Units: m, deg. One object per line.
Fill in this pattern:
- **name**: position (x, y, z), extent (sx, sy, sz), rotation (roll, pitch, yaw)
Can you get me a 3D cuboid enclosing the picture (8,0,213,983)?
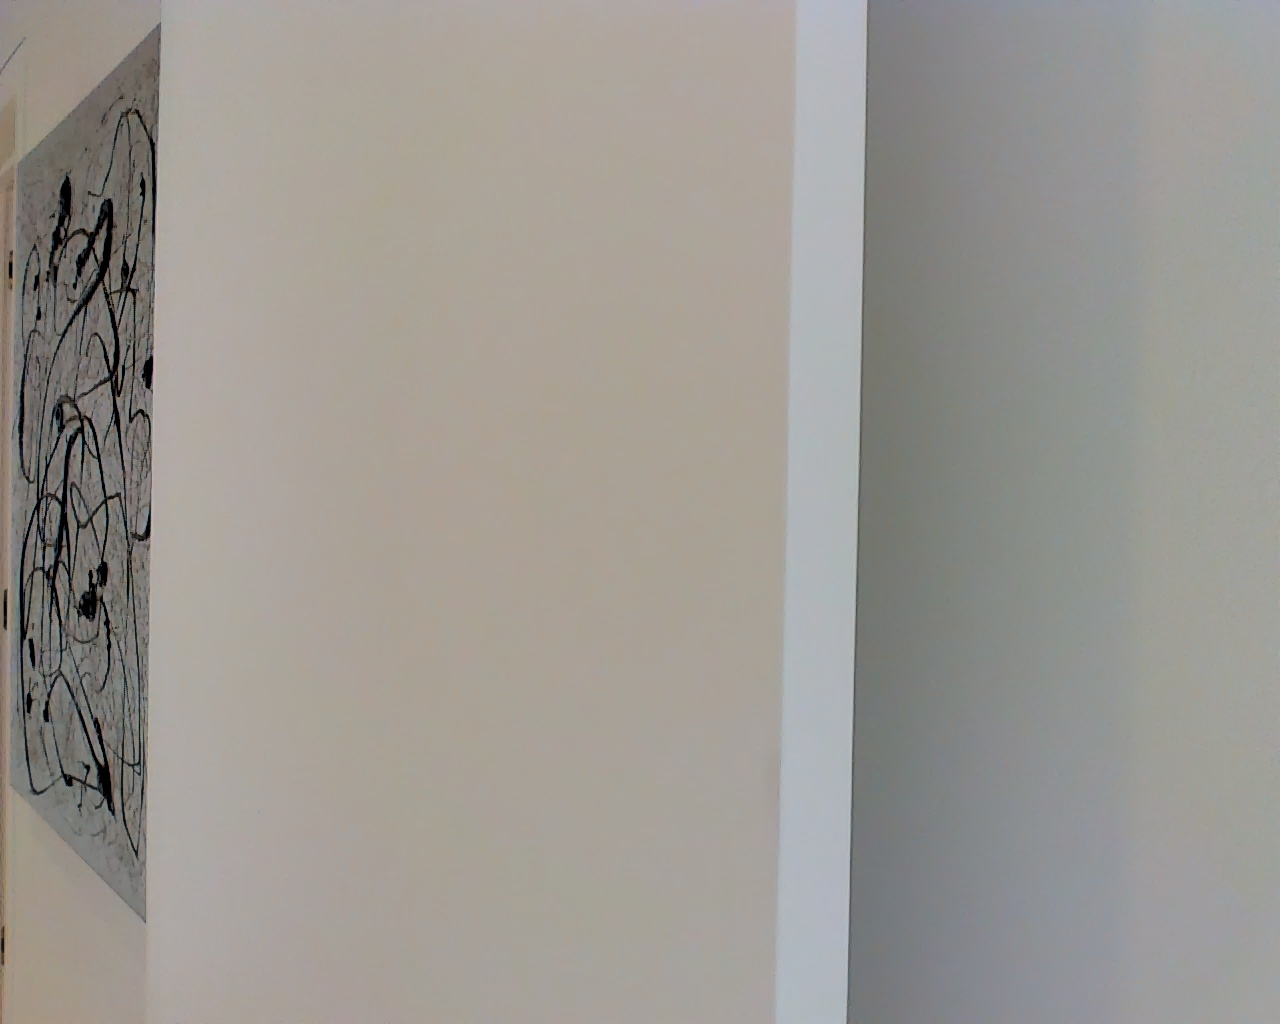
- **picture**: position (-0.900, -0.060, 1.760), extent (0.050, 1.310, 0.980), rotation (0, 1, -41)
